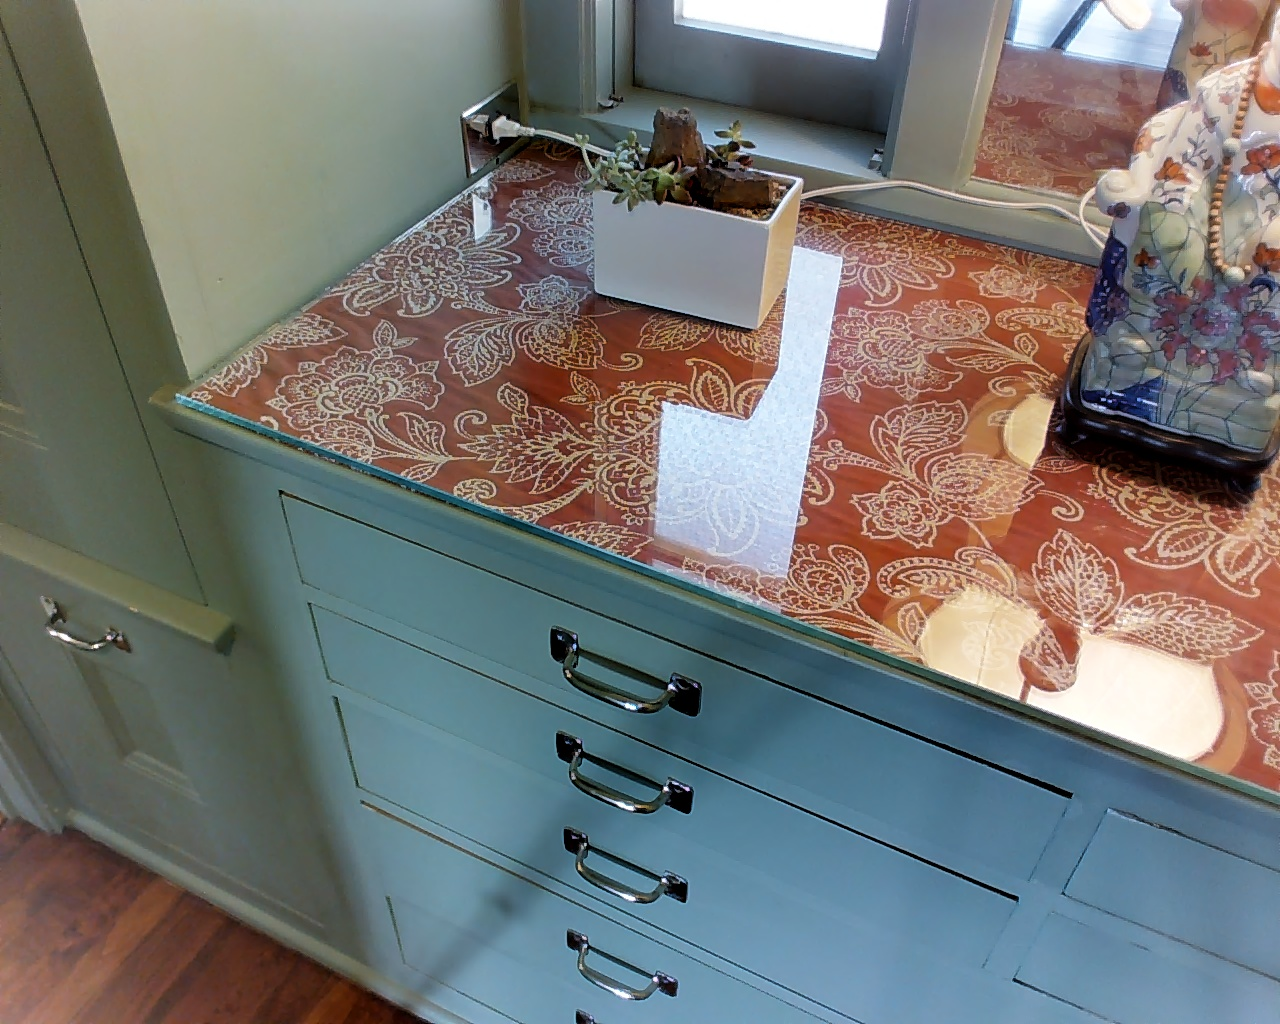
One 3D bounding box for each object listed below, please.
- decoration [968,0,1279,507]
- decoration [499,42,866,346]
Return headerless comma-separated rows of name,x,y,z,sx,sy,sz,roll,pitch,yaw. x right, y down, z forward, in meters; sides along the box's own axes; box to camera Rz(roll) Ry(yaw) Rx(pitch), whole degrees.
decoration,0.450,-0.280,0.800,0.250,0.400,0.320,19,44,17
decoration,0.040,-0.300,0.990,0.270,0.160,0.190,16,44,15
